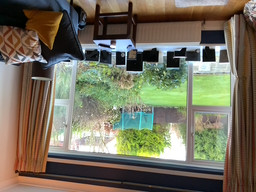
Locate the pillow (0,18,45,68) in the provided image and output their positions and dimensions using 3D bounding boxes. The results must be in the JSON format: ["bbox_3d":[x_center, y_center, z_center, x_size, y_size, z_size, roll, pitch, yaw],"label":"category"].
[{"bbox_3d":[-1.180,-0.540,2.200,0.480,0.450,0.150,-4,-151,-2],"label":"pillow"}]

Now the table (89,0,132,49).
[{"bbox_3d":[-0.210,-0.910,2.760,0.450,0.470,0.380,2,173,11],"label":"table"}]

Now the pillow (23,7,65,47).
[{"bbox_3d":[-0.810,-0.680,2.090,0.280,0.320,0.160,-11,-157,-5],"label":"pillow"}]
